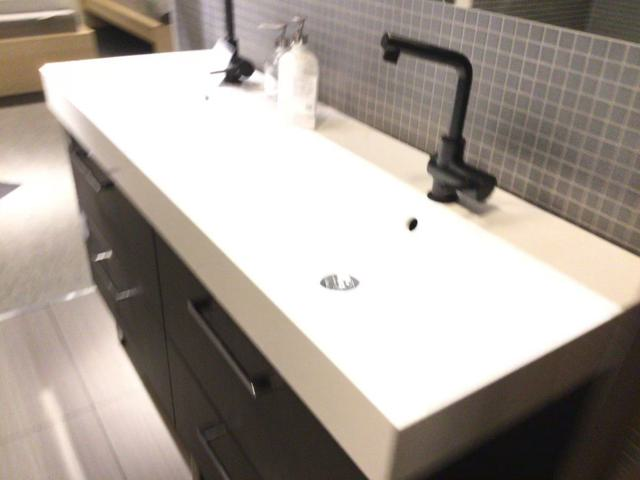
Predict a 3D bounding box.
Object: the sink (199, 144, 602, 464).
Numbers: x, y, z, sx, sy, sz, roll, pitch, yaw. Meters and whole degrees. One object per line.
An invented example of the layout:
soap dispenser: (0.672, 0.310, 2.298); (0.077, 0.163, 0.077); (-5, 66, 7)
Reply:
sink: (0.070, 0.030, 0.840); (0.300, 0.130, 0.520); (-16, 35, -29)
